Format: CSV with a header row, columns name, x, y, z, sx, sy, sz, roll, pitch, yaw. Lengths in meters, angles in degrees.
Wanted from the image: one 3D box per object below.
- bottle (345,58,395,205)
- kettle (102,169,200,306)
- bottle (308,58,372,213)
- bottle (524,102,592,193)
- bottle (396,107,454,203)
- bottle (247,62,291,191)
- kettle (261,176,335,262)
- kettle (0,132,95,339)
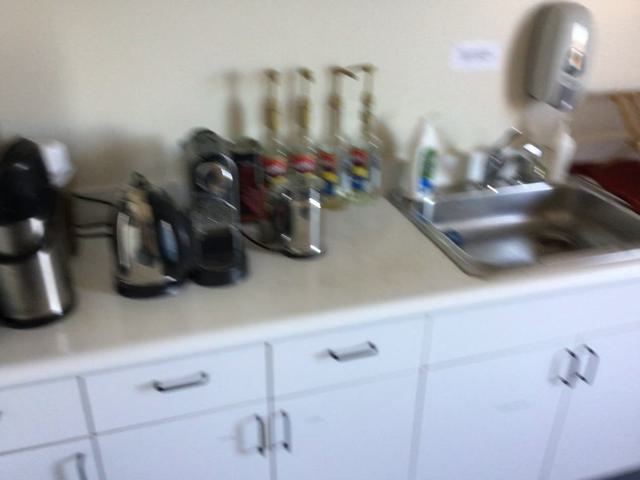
name,x,y,z,sx,sy,sz,roll,pitch,yaw
bottle,0.130,-0.290,1.570,0.100,0.370,0.100,-7,27,-11
kettle,-0.330,-0.010,1.160,0.150,0.210,0.160,-7,27,-11
bottle,0.050,-0.270,1.520,0.130,0.370,0.120,-7,27,-11
bottle,0.690,-0.270,1.700,0.100,0.230,0.120,-7,27,-11
bottle,0.280,-0.230,1.580,0.110,0.230,0.100,-7,27,-11
bottle,-0.130,-0.290,1.470,0.070,0.280,0.180,-7,27,-11
kettle,-0.050,-0.050,1.310,0.140,0.140,0.130,-7,27,-11
kettle,-0.520,-0.010,1.040,0.150,0.320,0.160,-7,27,-11
